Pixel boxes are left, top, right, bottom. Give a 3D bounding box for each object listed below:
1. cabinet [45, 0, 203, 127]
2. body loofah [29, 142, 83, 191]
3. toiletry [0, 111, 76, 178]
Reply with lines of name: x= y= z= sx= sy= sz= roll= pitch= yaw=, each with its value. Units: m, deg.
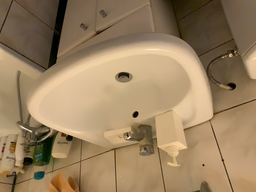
cabinet: x=-0.030 y=-0.310 z=0.930 sx=0.410 sy=0.720 sz=0.360 roll=-25 pitch=142 yaw=27
body loofah: x=-0.300 y=0.540 z=0.820 sx=0.180 sy=0.670 sz=0.130 roll=-26 pitch=141 yaw=28
toiletry: x=-0.510 y=0.280 z=1.160 sx=0.510 sy=0.210 sz=0.110 roll=-25 pitch=142 yaw=27
